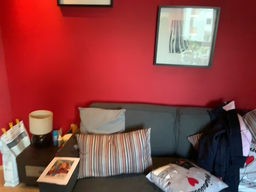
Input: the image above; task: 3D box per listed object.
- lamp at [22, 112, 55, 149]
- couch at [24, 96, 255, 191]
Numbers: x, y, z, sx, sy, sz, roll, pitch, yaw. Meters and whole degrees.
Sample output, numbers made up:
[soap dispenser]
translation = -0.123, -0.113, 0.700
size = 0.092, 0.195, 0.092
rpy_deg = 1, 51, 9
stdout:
[lamp]
translation = -0.940, 0.360, 2.250
size = 0.240, 0.320, 0.200
rpy_deg = 4, 15, 6
[couch]
translation = 0.440, 0.610, 1.780
size = 2.090, 0.890, 0.970
rpy_deg = 3, 15, 5
